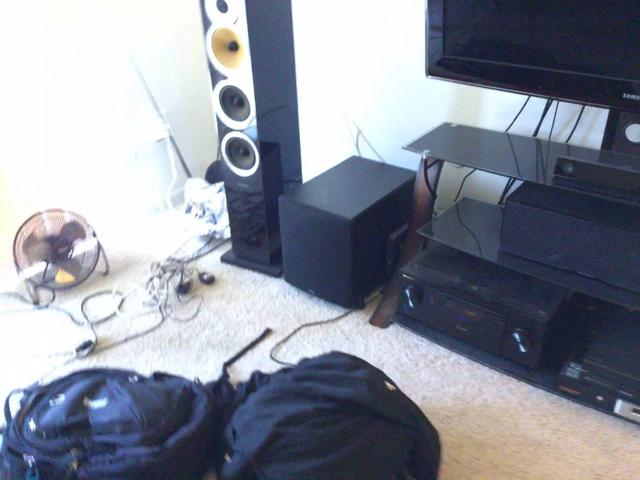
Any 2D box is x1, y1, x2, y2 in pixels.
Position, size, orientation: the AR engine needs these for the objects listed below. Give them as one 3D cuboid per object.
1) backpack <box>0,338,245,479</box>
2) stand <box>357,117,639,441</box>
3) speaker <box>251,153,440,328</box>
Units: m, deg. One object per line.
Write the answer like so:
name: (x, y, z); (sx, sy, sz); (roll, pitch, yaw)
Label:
backpack: (-0.500, 0.450, 1.390); (0.510, 0.180, 0.350); (7, 27, 24)
stand: (0.740, 0.070, 1.600); (1.180, 0.620, 0.500); (15, 31, 37)
speaker: (0.100, -0.030, 1.970); (0.440, 0.380, 0.440); (15, 31, 37)
